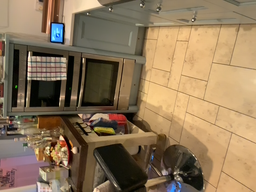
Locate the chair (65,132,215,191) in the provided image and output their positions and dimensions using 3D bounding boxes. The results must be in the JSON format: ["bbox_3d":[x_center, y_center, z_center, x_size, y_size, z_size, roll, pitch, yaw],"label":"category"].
[{"bbox_3d":[0.070,0.730,1.680,0.550,0.960,0.650,30,114,55],"label":"chair"}]
